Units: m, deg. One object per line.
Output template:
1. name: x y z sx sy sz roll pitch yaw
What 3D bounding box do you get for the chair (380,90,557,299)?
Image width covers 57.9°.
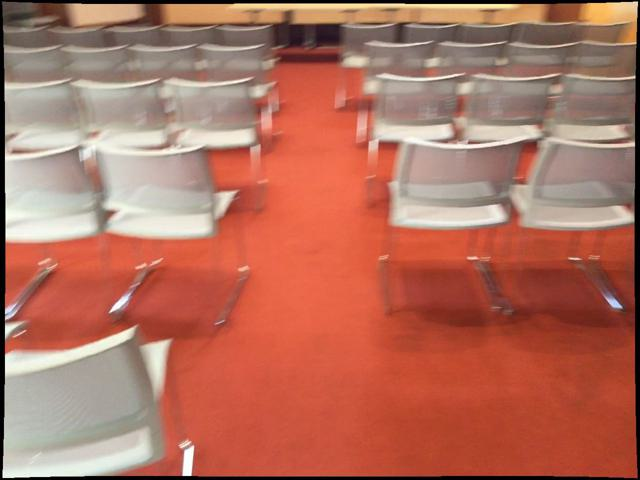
1. chair: 0.579 -0.200 2.510 0.569 0.731 0.530 -1 34 1

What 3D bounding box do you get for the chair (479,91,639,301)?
1. chair: 1.079 -0.190 2.480 0.579 0.720 0.530 -1 34 1

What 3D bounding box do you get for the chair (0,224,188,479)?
1. chair: -0.629 0.400 1.380 0.510 0.720 0.380 -8 34 -10

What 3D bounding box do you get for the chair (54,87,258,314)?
1. chair: -0.629 -0.180 2.480 0.559 0.761 0.580 3 34 6

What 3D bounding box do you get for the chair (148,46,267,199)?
1. chair: -0.629 -0.701 3.450 0.529 0.741 0.520 -1 34 0

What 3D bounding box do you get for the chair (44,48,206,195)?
1. chair: -1.109 -0.711 3.460 0.669 0.690 0.550 -1 34 1

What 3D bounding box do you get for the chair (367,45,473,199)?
1. chair: 0.579 -0.711 3.470 0.539 0.761 0.470 4 34 9
